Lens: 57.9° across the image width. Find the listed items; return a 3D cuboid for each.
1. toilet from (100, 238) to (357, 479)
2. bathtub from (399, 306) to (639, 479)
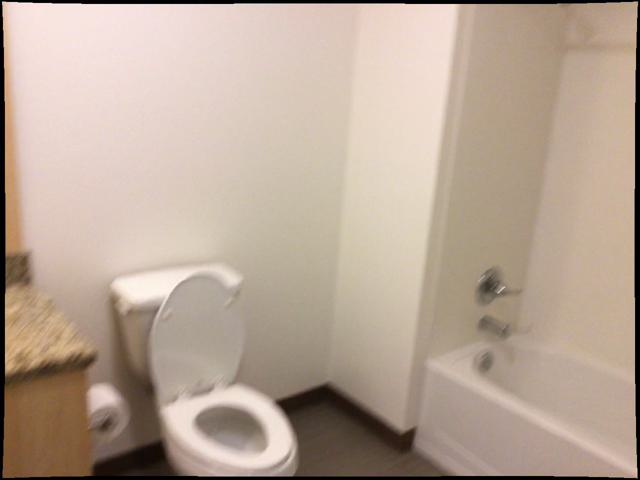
[{"bbox_3d":[-0.340,0.541,1.950,0.470,0.851,0.750,-12,25,-39],"label":"toilet"},{"bbox_3d":[1.119,0.811,2.110,0.780,0.450,1.470,-12,25,-39],"label":"bathtub"}]
